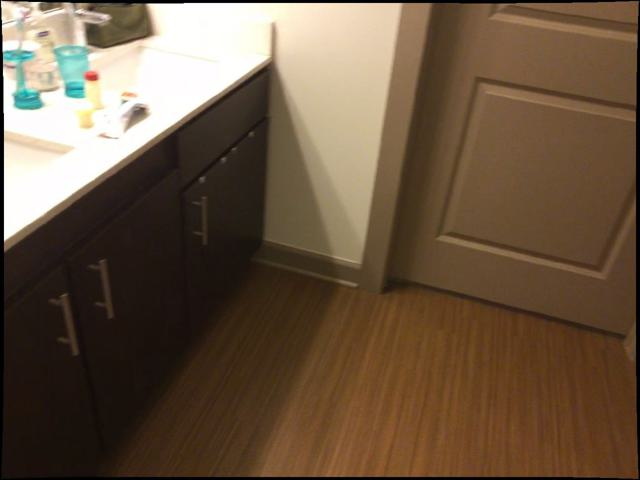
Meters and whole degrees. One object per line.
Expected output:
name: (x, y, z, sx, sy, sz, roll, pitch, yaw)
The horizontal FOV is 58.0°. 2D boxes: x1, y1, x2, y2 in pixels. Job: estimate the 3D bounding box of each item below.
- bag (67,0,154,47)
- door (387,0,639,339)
bag: (-0.638, -0.702, 1.780, 0.130, 0.120, 0.240, 14, 37, 11)
door: (0.768, -0.581, 1.580, 0.868, 1.953, 0.140, 14, 37, 11)
